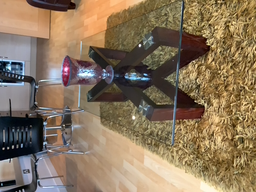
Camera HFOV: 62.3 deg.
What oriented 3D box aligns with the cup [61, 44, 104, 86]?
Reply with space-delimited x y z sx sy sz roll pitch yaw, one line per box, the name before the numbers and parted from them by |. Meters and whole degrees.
cup | -0.240 -0.150 1.100 0.160 0.170 0.190 8 96 58
